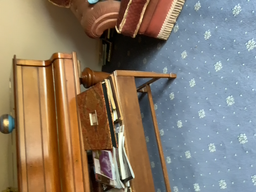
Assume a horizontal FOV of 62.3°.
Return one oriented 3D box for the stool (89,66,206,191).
[{"bbox_3d":[0.100,0.300,1.440,0.460,0.480,0.870,-27,70,55],"label":"stool"}]
